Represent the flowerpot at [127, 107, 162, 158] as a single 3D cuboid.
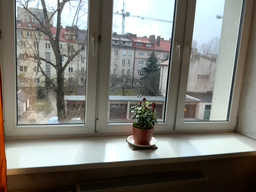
[{"bbox_3d":[0.120,0.280,1.670,0.210,0.330,0.240,3,9,-7],"label":"flowerpot"}]
